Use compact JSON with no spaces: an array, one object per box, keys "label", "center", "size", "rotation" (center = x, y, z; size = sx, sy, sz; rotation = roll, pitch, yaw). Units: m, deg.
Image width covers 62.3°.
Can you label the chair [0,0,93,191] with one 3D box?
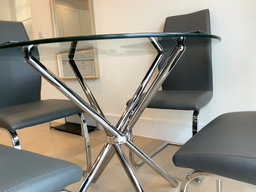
[{"label":"chair","center":[-0.620,0.020,1.260],"size":[0.570,1.030,0.450],"rotation":[2,10,36]}]

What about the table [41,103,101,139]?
[{"label":"table","center":[-0.670,0.260,2.440],"size":[0.700,0.280,0.270],"rotation":[3,11,37]}]

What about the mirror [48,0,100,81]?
[{"label":"mirror","center":[-0.640,-0.960,2.340],"size":[0.690,1.580,0.050],"rotation":[3,11,37]}]

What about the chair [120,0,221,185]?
[{"label":"chair","center":[0.330,-0.070,1.440],"size":[0.450,1.030,0.560],"rotation":[2,10,34]}]
